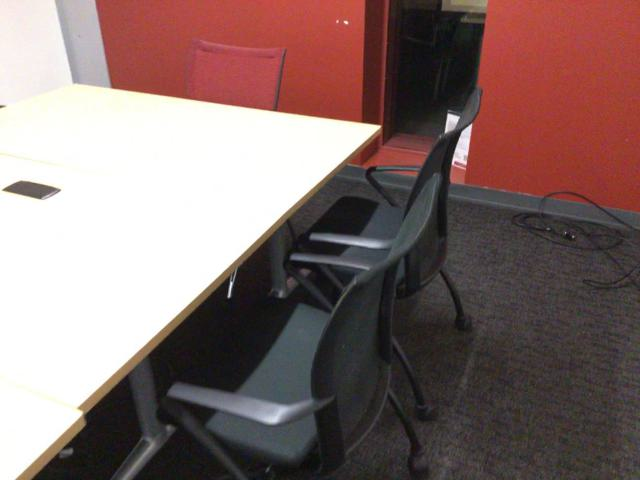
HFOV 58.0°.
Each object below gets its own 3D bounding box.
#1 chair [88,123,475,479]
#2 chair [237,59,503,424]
[{"bbox_3d":[-0.050,0.310,1.360,0.540,0.950,0.570,15,33,21],"label":"chair"},{"bbox_3d":[0.150,-0.030,1.870,0.580,0.900,0.590,16,33,21],"label":"chair"}]
